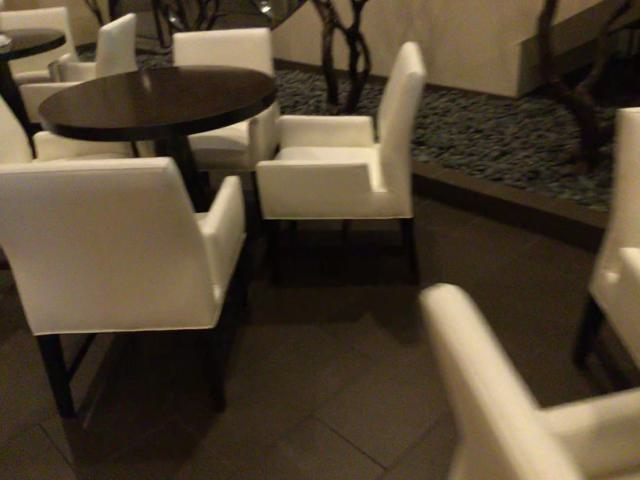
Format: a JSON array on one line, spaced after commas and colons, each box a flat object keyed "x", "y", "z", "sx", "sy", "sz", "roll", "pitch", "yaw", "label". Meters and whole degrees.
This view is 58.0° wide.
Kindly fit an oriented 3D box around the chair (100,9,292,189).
[{"x": -0.530, "y": -0.700, "z": 2.790, "sx": 0.650, "sy": 0.640, "sz": 0.670, "roll": -5, "pitch": 27, "yaw": 5, "label": "chair"}]

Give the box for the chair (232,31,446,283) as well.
[{"x": 0.110, "y": -0.350, "z": 2.360, "sx": 0.700, "sy": 0.800, "sz": 0.610, "roll": -5, "pitch": 27, "yaw": 5, "label": "chair"}]

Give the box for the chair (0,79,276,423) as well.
[{"x": -0.560, "y": 0.000, "z": 1.800, "sx": 0.660, "sy": 0.770, "sz": 0.720, "roll": -5, "pitch": 27, "yaw": 5, "label": "chair"}]

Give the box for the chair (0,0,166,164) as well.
[{"x": -1.430, "y": -1.010, "z": 3.570, "sx": 0.700, "sy": 0.870, "sz": 0.650, "roll": 3, "pitch": 28, "yaw": 2, "label": "chair"}]
